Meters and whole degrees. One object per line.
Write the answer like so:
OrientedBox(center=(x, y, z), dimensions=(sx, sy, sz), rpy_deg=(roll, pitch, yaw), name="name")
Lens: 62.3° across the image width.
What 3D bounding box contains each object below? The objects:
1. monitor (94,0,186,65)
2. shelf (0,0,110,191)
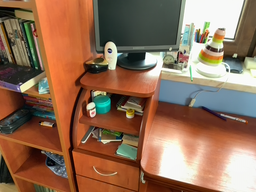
OrientedBox(center=(0.050, -0.320, 0.920), dimensions=(0.370, 0.360, 0.050), rpy_deg=(-5, 37, -6), name="monitor")
OrientedBox(center=(-0.400, 0.010, 1.080), dimensions=(0.430, 1.590, 0.480), rpy_deg=(10, 34, 14), name="shelf")
